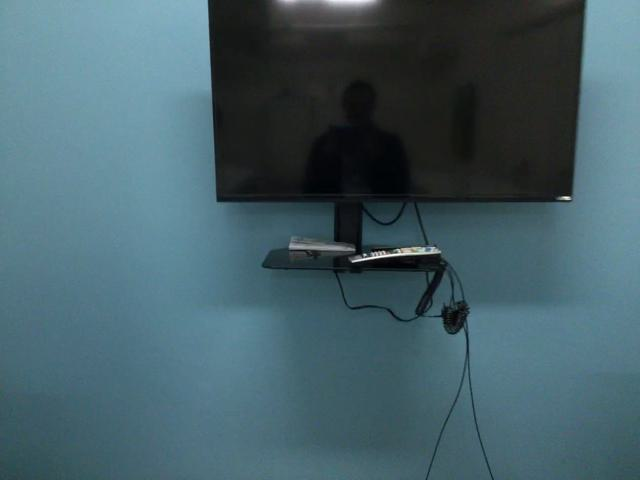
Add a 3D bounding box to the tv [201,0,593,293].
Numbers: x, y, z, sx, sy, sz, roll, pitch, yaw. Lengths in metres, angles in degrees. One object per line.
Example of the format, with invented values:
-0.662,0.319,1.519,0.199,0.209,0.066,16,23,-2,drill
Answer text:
0.170,-0.240,1.520,0.890,0.660,0.270,3,8,0,tv
